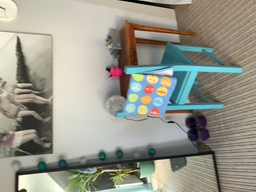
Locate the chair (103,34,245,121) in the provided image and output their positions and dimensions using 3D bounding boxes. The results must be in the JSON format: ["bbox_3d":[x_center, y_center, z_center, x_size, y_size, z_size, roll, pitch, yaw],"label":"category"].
[{"bbox_3d":[0.320,-0.150,1.700,0.490,0.900,0.450,-118,34,-52],"label":"chair"}]
